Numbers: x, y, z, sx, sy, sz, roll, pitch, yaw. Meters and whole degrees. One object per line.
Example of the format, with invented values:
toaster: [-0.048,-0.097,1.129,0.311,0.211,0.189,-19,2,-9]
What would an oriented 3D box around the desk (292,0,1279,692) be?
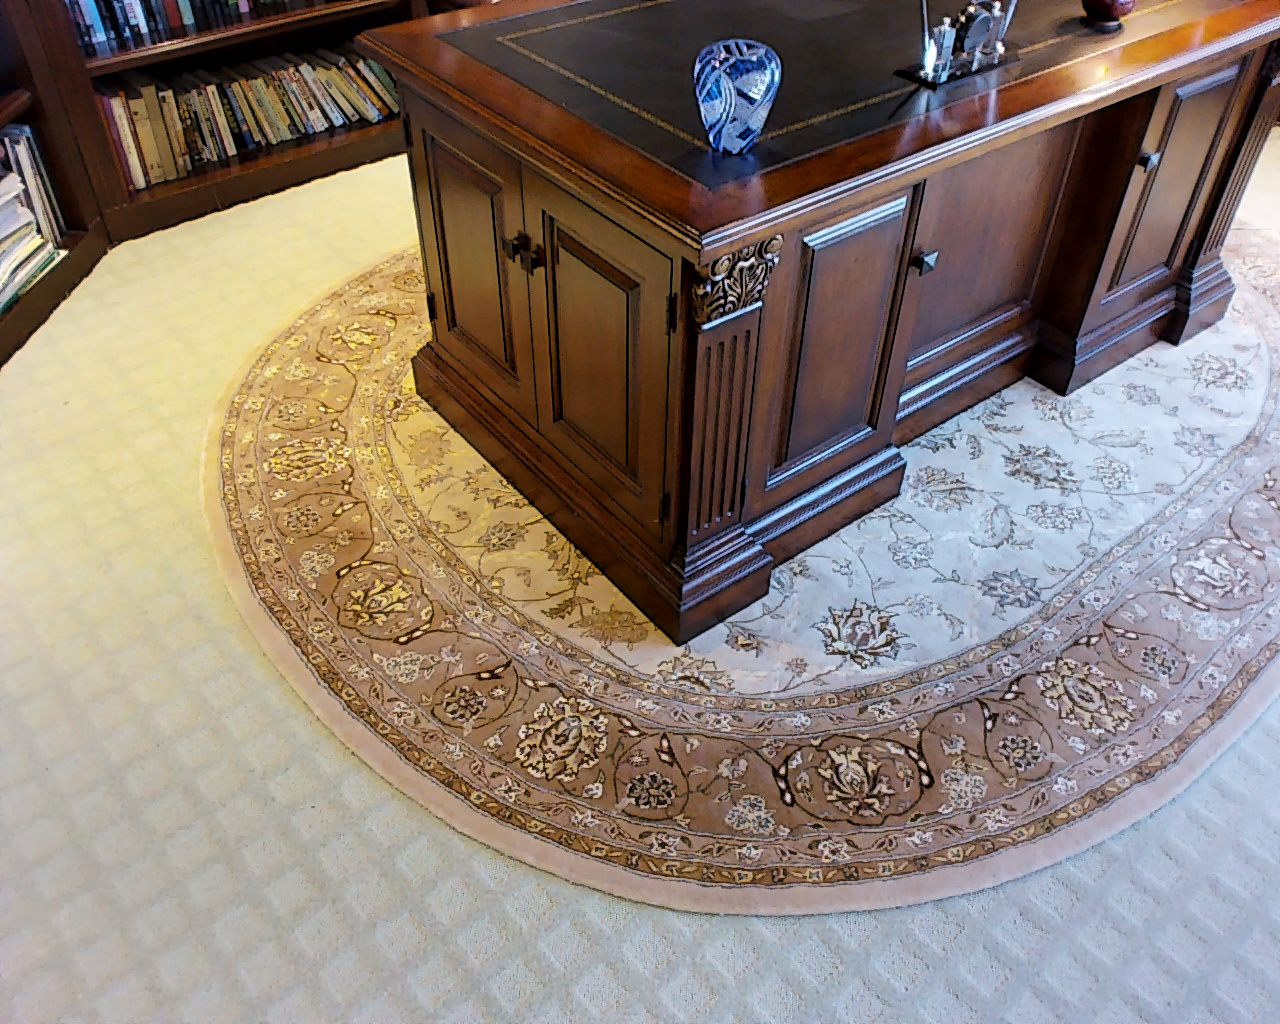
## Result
desk: [0.470,-0.690,2.300,1.900,0.780,1.140,-30,50,-30]
